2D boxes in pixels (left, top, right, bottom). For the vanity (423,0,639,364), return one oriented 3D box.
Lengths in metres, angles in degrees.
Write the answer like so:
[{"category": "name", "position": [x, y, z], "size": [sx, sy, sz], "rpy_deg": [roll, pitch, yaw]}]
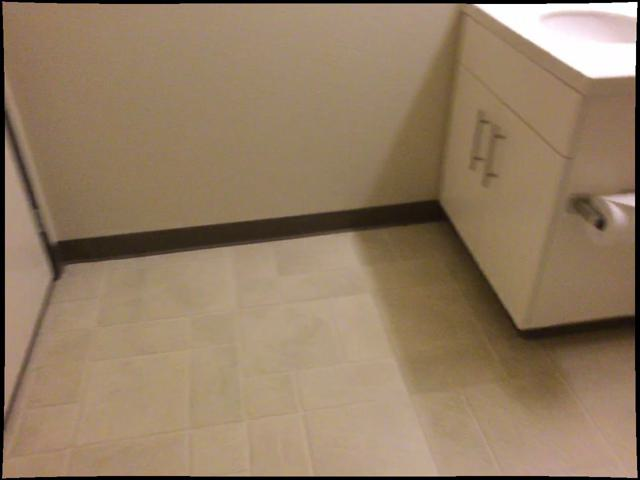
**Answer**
[{"category": "vanity", "position": [0.778, -0.281, 1.830], "size": [0.579, 0.962, 0.811], "rpy_deg": [-7, 35, -8]}]
